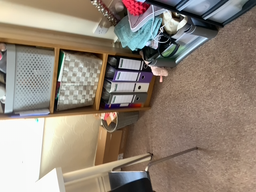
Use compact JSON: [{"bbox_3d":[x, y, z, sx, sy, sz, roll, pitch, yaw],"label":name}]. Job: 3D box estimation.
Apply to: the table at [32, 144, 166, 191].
[{"bbox_3d":[-0.140,0.970,1.450,0.610,0.740,1.030,-39,60,47],"label":"table"}]
